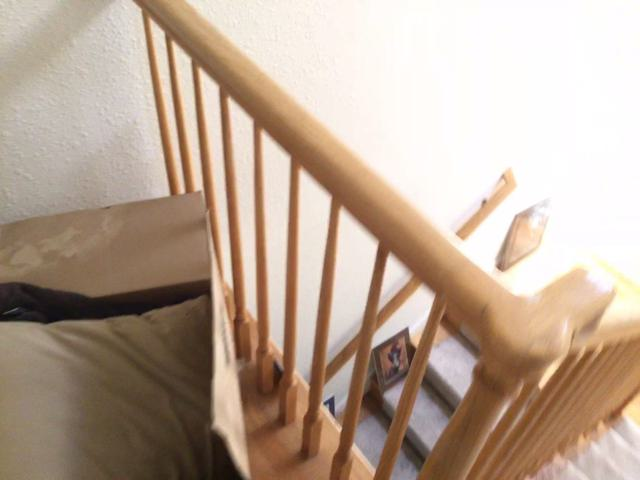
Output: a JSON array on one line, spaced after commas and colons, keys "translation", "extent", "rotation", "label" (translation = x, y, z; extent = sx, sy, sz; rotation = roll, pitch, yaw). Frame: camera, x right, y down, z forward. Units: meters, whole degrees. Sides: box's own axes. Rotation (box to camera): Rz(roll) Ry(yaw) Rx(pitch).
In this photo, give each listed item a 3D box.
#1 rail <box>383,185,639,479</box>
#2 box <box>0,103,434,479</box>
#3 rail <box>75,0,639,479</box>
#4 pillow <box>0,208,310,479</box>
[{"translation": [0.830, 0.410, 1.640], "extent": [1.680, 1.730, 0.160], "rotation": [-23, 52, -27], "label": "rail"}, {"translation": [-0.430, 0.330, 1.180], "extent": [0.710, 0.660, 0.970], "rotation": [-23, 52, -27], "label": "box"}, {"translation": [-0.060, 0.070, 1.230], "extent": [0.400, 0.960, 1.090], "rotation": [-23, 52, -27], "label": "rail"}, {"translation": [-0.450, 0.330, 1.070], "extent": [0.670, 0.360, 0.500], "rotation": [-23, 53, -28], "label": "pillow"}]
